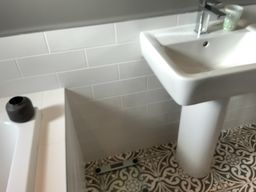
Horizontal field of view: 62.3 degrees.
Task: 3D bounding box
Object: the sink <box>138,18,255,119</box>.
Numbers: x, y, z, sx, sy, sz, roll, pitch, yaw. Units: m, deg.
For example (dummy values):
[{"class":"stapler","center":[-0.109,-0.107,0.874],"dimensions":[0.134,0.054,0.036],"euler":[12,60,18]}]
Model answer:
[{"class":"sink","center":[0.380,-0.160,0.960],"dimensions":[0.580,0.200,0.400],"euler":[-11,38,-10]}]
